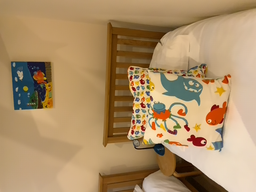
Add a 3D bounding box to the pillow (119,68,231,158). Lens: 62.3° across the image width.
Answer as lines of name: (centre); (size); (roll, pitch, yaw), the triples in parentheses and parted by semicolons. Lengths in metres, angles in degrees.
pillow: (0.230, 0.050, 1.400); (0.700, 0.370, 0.400); (-152, 64, -68)
